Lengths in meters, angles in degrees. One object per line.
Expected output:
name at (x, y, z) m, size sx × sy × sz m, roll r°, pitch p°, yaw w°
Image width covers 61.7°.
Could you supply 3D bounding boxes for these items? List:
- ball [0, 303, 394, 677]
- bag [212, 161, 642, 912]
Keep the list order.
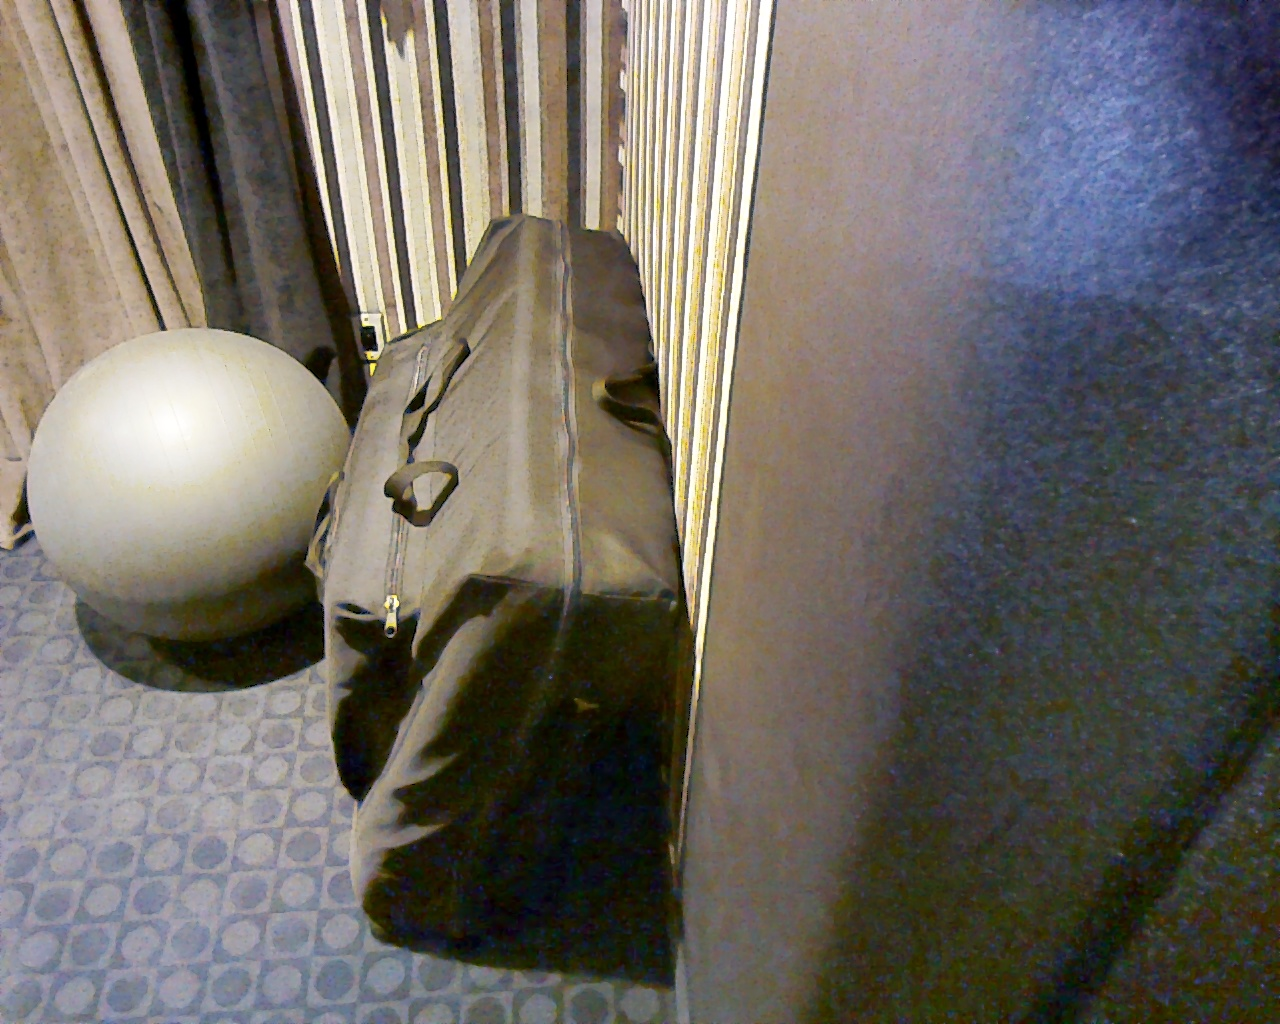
ball at (-0.840, -0.010, 1.940) m, size 0.610 × 0.580 × 0.400 m, roll 10°, pitch 69°, yaw 0°
bag at (-0.290, 0.080, 1.740) m, size 0.460 × 0.820 × 0.920 m, roll -3°, pitch 61°, yaw -5°
